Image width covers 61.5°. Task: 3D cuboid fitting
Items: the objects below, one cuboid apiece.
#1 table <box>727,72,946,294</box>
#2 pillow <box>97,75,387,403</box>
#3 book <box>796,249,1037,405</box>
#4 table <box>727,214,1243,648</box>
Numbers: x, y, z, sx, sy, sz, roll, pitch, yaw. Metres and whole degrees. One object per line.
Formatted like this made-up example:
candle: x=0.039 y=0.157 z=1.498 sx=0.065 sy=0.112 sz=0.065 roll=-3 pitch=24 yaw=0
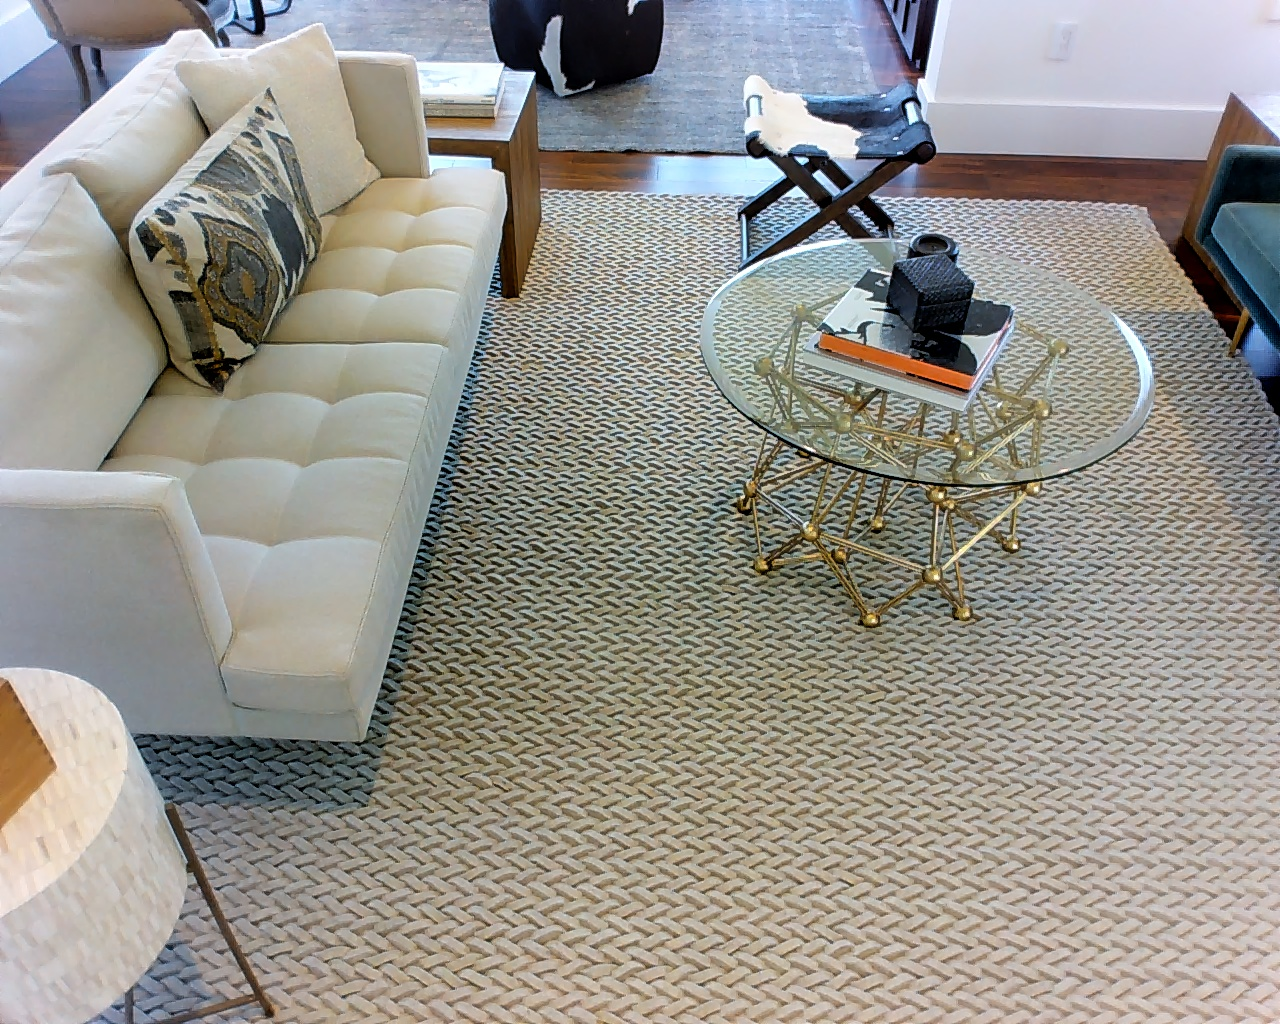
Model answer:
table: x=0.540 y=-0.970 z=3.150 sx=0.540 sy=0.430 sz=0.520 roll=2 pitch=41 yaw=2
pillow: x=-0.750 y=-0.560 z=2.140 sx=0.190 sy=0.340 sz=0.640 roll=-17 pitch=38 yaw=18
book: x=0.510 y=-0.350 z=1.970 sx=0.330 sy=0.050 sz=0.330 roll=22 pitch=46 yaw=23
table: x=0.580 y=-0.190 z=2.150 sx=0.770 sy=0.480 sz=0.760 roll=2 pitch=41 yaw=2
